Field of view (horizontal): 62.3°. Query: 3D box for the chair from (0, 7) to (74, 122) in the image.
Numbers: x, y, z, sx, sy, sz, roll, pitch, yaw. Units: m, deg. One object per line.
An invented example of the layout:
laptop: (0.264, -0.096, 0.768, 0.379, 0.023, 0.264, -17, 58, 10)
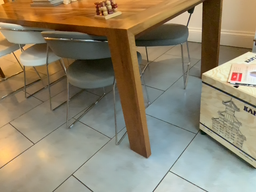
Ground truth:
chair: (-0.900, -0.290, 1.810, 0.480, 0.770, 0.480, 19, 42, 36)
